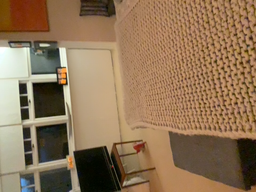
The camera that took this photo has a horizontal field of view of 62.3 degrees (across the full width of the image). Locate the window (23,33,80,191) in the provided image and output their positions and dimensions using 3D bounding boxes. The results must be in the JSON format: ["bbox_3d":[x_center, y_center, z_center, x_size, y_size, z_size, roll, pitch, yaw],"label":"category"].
[{"bbox_3d":[-1.440,0.430,4.030,0.330,0.730,3.180,170,95,-69],"label":"window"}]
